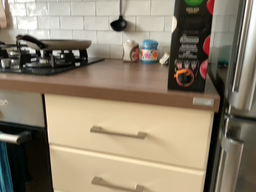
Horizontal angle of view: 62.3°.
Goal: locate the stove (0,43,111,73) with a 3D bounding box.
[{"bbox_3d":[-0.450,-0.200,0.990,0.590,0.050,0.560,6,17,13],"label":"stove"}]
